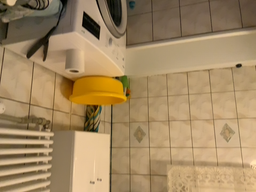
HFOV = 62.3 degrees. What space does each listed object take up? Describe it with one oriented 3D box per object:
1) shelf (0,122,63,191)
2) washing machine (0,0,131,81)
[{"bbox_3d":[-0.500,0.540,0.910,0.100,0.820,0.530,-3,167,16],"label":"shelf"},{"bbox_3d":[-0.300,-0.600,1.250,0.480,0.860,0.610,-3,167,16],"label":"washing machine"}]
